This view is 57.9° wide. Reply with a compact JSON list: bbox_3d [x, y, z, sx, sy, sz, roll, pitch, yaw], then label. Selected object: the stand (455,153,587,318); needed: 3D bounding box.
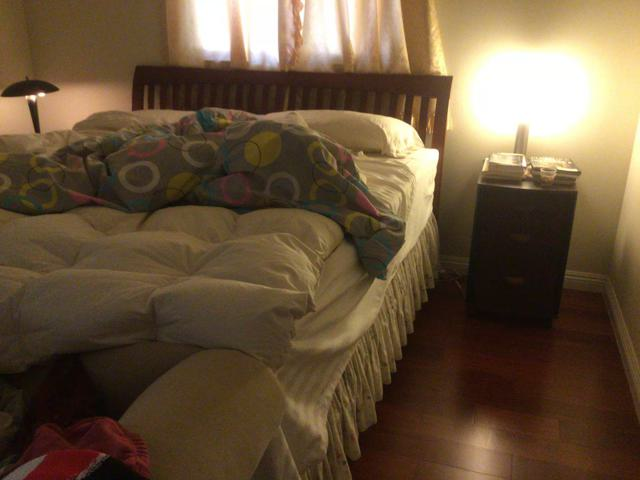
[{"bbox_3d":[0.910,-0.040,2.660,0.410,0.580,0.410,13,24,15],"label":"stand"}]
